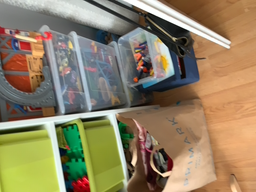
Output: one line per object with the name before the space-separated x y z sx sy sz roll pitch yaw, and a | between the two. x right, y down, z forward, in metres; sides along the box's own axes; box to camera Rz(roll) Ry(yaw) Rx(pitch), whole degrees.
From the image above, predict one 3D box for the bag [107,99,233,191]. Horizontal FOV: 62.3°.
bag | 0.230 0.260 1.060 0.310 0.530 0.410 -20 78 40
